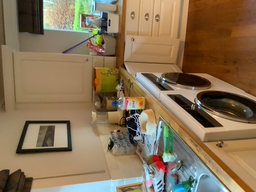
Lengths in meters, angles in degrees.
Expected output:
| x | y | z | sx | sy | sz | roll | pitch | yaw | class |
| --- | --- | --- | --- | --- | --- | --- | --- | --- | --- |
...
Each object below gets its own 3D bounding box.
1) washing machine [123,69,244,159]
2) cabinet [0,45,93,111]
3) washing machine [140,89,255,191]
| x | y | z | sx | sy | sz | roll | pitch | yaw | class |
| --- | --- | --- | --- | --- | --- | --- | --- | --- | --- |
| 0.490 | 0.130 | 2.150 | 0.620 | 0.890 | 0.650 | -129 | 41 | -63 | washing machine |
| -1.000 | -0.240 | 2.730 | 0.420 | 1.010 | 0.740 | -145 | 56 | -69 | cabinet |
| 0.660 | 0.360 | 1.590 | 0.640 | 0.910 | 0.650 | -129 | 41 | -63 | washing machine |
